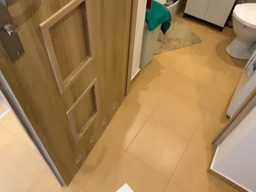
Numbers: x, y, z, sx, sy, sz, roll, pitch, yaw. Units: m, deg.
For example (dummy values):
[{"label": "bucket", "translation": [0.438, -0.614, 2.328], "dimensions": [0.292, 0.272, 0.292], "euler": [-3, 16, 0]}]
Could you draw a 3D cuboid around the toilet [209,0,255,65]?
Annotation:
[{"label": "toilet", "translation": [1.210, -0.690, 1.820], "dimensions": [0.670, 0.720, 0.360], "euler": [-8, 53, -11]}]
